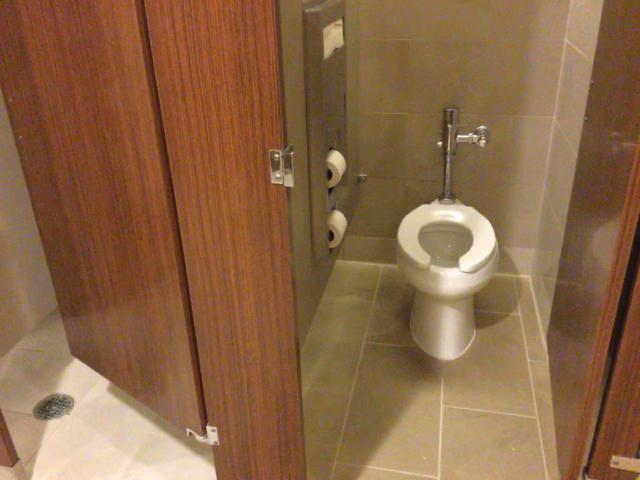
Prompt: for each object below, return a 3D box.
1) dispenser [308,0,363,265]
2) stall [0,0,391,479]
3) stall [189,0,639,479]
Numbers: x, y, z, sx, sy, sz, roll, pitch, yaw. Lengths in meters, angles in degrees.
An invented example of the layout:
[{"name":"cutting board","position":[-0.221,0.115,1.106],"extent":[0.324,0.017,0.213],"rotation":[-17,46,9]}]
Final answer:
[{"name":"dispenser","position":[0.060,-0.340,1.780],"extent":[0.080,0.730,0.400],"rotation":[4,26,12]},{"name":"stall","position":[-0.360,-0.240,1.900],"extent":[0.990,1.470,1.550],"rotation":[4,26,12]},{"name":"stall","position":[0.390,-0.280,1.690],"extent":[0.870,1.660,1.530],"rotation":[4,26,12]}]
